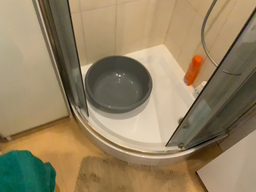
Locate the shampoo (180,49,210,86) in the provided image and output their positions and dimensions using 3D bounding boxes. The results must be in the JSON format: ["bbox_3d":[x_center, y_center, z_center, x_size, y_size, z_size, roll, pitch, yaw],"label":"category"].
[{"bbox_3d":[0.430,-0.180,1.380,0.070,0.210,0.120,-17,61,-15],"label":"shampoo"}]
